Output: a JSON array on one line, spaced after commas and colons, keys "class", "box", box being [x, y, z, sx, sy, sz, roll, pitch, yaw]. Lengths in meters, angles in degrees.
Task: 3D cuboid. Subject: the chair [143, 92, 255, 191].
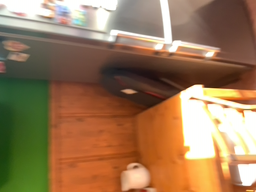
[{"class": "chair", "box": [0.630, 0.290, 1.230, 0.460, 0.900, 0.390, -63, 36, 40]}]

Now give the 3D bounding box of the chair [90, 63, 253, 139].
[{"class": "chair", "box": [0.340, 0.060, 1.560, 0.370, 1.140, 0.380, -35, 58, 58]}]
